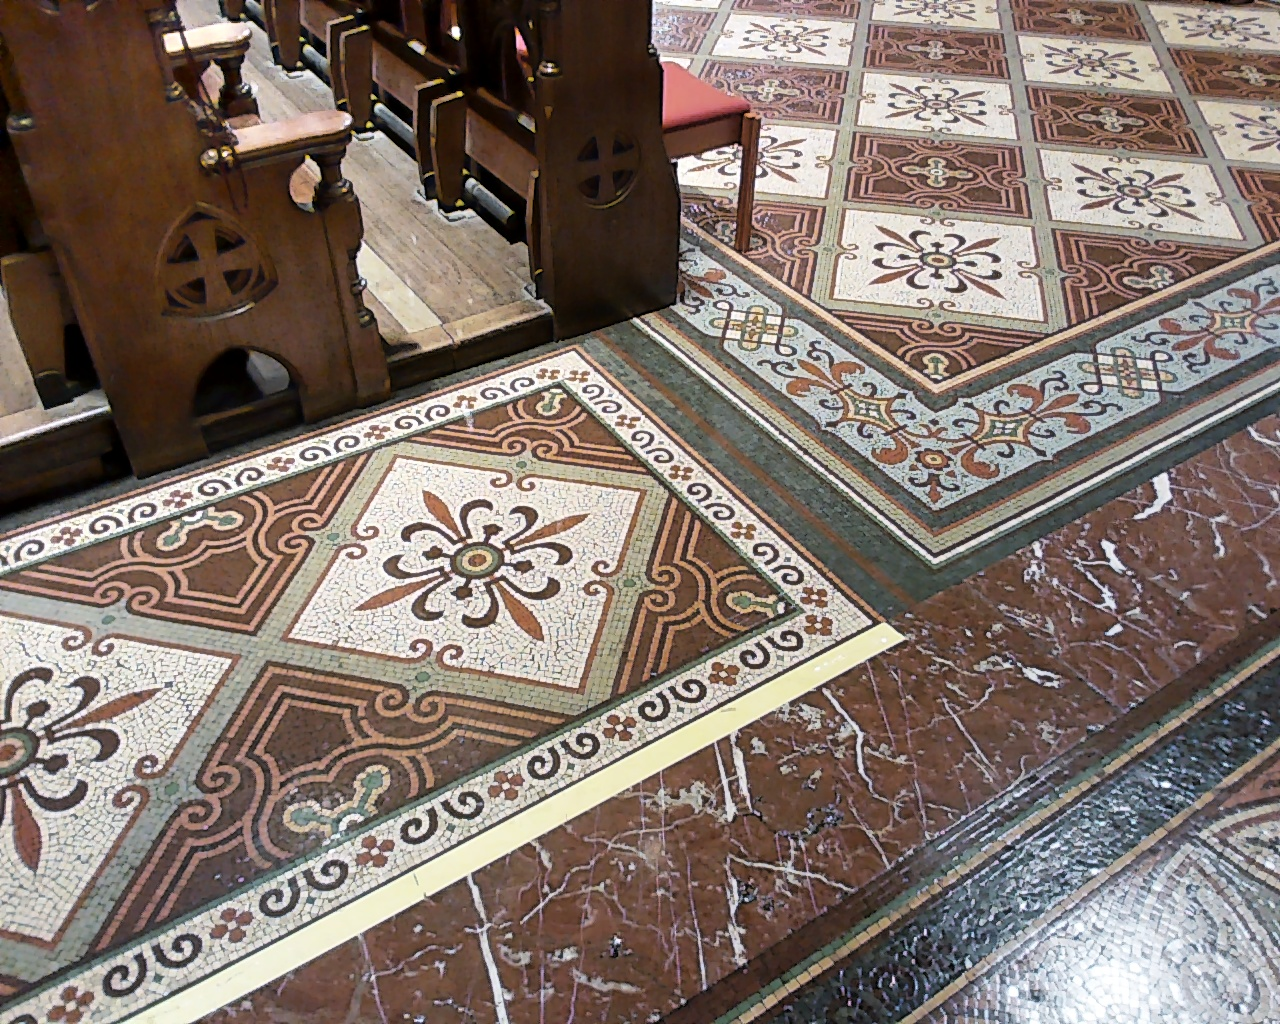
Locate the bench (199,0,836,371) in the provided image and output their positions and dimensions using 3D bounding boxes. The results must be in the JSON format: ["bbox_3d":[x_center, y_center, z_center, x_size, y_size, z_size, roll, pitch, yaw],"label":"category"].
[{"bbox_3d":[-0.890,-2.210,3.990,0.900,1.400,3.880,-23,48,-23],"label":"bench"}]
